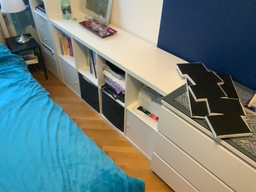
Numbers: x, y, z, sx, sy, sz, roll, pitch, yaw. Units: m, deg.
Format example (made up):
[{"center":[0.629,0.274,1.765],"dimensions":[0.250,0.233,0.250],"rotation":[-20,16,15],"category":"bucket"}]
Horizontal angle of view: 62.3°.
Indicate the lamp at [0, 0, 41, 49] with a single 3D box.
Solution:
[{"center":[-1.180,-0.850,2.210],"dimensions":[0.270,0.550,0.390],"rotation":[-30,52,-33],"category":"lamp"}]
